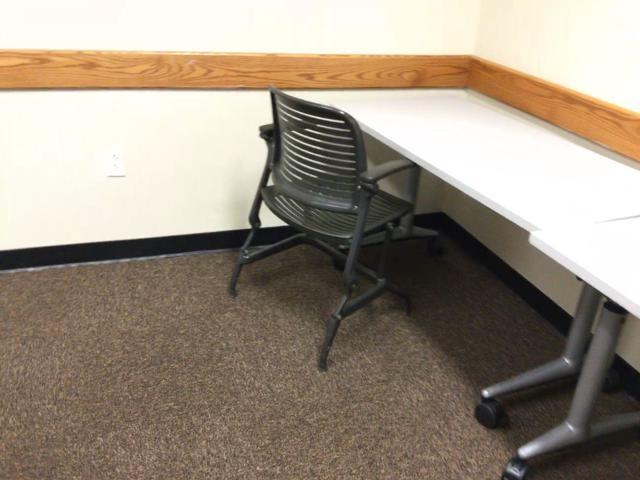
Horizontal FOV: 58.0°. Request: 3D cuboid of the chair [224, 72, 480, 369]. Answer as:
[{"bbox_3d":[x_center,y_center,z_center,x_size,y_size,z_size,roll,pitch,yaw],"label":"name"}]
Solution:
[{"bbox_3d":[0.040,-0.110,2.050,0.610,0.820,0.650,-3,24,-20],"label":"chair"}]
